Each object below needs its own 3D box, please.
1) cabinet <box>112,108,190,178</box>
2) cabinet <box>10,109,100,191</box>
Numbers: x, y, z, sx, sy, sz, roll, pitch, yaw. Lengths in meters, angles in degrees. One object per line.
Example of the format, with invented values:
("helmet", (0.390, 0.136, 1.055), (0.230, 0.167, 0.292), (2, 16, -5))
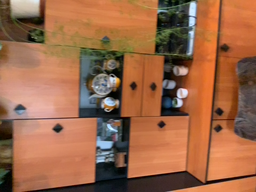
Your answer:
("cabinet", (0.150, 0.310, 1.560), (0.340, 0.440, 0.390), (-161, 73, -68))
("cabinet", (-0.450, 0.310, 1.330), (0.340, 0.460, 0.400), (-161, 73, -68))
